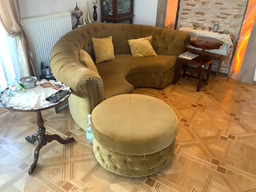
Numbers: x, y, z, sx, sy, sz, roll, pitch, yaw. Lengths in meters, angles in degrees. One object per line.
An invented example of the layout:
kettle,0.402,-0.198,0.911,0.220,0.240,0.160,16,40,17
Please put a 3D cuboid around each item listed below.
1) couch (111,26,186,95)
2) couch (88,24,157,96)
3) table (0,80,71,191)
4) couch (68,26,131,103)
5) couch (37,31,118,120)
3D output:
couch,0.310,-0.630,3.490,0.890,0.770,0.770,22,35,31
couch,-0.120,-0.600,3.350,1.000,0.840,0.400,22,35,31
table,-0.880,0.310,1.840,0.500,0.660,0.480,18,33,26
couch,-0.420,-0.490,3.100,0.840,0.870,0.370,22,35,31
couch,-0.650,-0.310,2.790,0.970,0.840,0.440,22,35,31
